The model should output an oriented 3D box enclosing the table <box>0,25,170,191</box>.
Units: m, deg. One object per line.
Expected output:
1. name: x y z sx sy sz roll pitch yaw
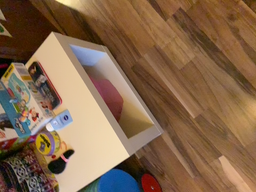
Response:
1. table: -0.240 0.110 1.060 0.570 0.450 0.560 -39 77 23
